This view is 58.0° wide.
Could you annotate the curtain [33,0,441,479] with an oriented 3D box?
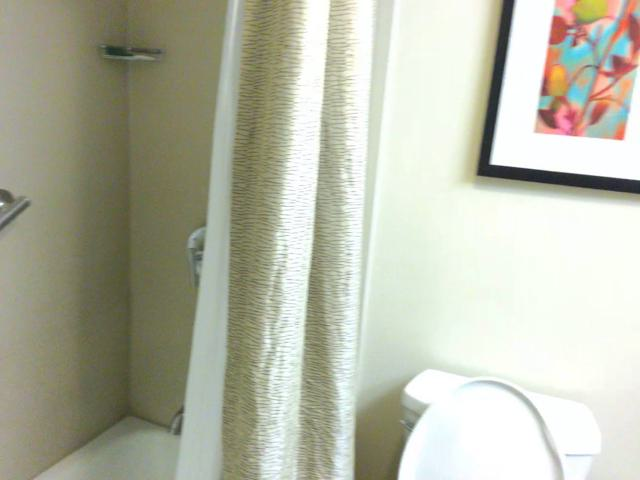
[{"bbox_3d":[-0.110,0.180,1.290,0.510,1.860,0.700,6,13,24],"label":"curtain"}]
